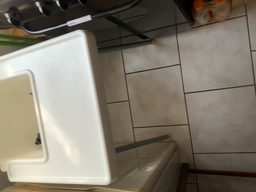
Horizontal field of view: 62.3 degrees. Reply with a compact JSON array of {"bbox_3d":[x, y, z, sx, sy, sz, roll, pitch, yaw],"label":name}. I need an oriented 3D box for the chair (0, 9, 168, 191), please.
[{"bbox_3d":[-0.220,0.020,0.930,0.560,0.880,0.390,-8,92,23],"label":"chair"}]
